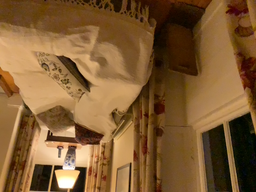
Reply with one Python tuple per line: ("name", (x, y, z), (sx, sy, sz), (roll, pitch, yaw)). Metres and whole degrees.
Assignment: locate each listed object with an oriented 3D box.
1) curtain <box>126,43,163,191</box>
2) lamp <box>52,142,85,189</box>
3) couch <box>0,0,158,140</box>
("curtain", (0.100, 0.790, 1.470), (0.150, 2.530, 0.400), (8, 155, -13))
("lamp", (-0.910, 1.090, 3.270), (0.370, 0.610, 0.580), (8, 155, -13))
("couch", (-0.600, -0.130, 2.150), (1.110, 0.670, 1.960), (8, 155, -13))
